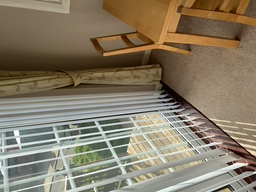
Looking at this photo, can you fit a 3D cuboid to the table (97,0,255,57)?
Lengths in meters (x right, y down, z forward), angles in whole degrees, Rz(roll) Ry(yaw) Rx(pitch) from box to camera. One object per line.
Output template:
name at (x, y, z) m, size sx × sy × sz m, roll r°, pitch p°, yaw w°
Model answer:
table at (0.360, -0.920, 1.490) m, size 0.960 × 0.750 × 0.960 m, roll 49°, pitch 134°, yaw 48°

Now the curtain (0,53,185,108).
curtain at (-0.590, -0.170, 1.880) m, size 0.570 × 2.390 × 0.190 m, roll 49°, pitch 134°, yaw 47°
